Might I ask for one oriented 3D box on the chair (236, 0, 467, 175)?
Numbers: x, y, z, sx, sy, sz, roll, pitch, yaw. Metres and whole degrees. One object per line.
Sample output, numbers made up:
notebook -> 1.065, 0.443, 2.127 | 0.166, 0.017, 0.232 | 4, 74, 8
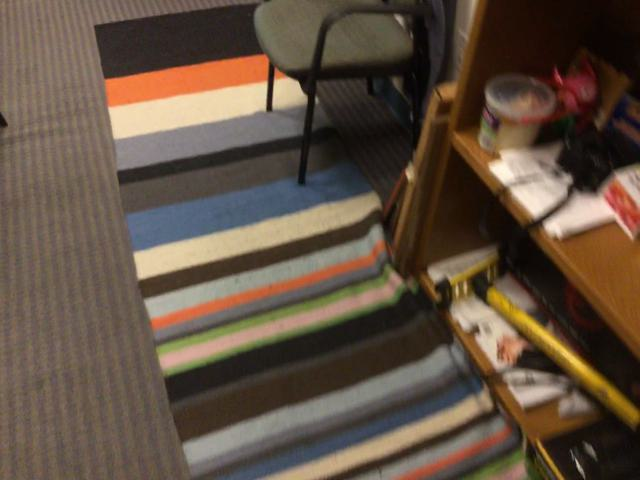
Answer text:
chair -> 0.050, -0.690, 1.820 | 0.530, 0.700, 0.570 | -9, 51, -14

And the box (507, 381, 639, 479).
box -> 0.620, 0.510, 1.230 | 0.270, 0.150, 0.300 | -17, 53, -20

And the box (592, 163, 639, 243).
box -> 0.590, -0.070, 1.080 | 0.070, 0.080, 0.110 | -17, 53, -20
